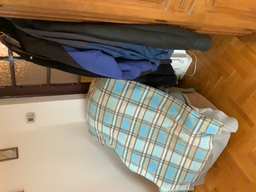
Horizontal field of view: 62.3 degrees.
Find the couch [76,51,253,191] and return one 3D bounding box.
[{"bbox_3d":[0.180,0.260,2.010,1.040,1.020,0.960,57,141,44],"label":"couch"}]
